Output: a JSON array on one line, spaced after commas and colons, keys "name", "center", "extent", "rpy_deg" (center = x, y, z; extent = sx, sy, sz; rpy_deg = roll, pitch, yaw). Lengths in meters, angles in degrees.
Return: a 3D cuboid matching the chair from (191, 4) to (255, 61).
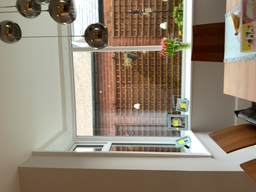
[{"name": "chair", "center": [1.110, -0.530, 1.870], "extent": [0.470, 0.970, 0.420], "rpy_deg": [-73, -18, -80]}]
